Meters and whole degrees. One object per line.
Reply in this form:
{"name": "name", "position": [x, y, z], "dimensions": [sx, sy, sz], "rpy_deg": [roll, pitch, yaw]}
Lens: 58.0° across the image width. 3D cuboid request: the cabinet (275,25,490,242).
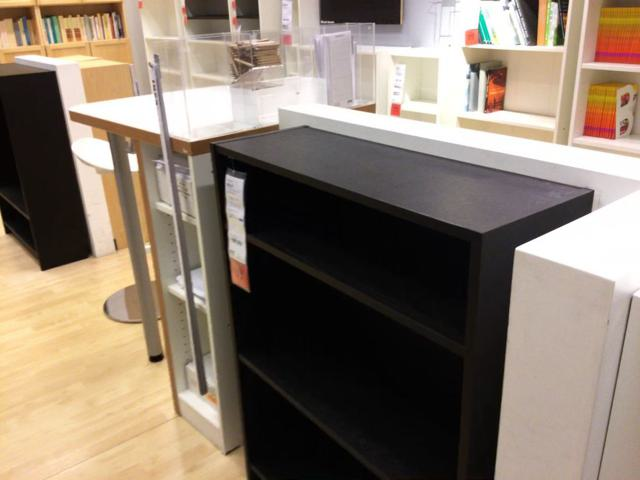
{"name": "cabinet", "position": [0.310, -0.760, 3.680], "dimensions": [0.290, 1.100, 1.570], "rpy_deg": [-20, 29, -32]}
